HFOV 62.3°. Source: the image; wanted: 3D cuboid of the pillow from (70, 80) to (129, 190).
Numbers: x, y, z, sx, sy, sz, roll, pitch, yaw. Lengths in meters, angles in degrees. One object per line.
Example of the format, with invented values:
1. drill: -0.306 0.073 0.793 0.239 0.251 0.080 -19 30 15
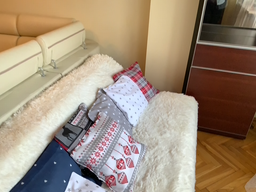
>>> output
1. pillow: -0.130 0.250 1.290 0.200 0.530 0.430 -1 -31 8
